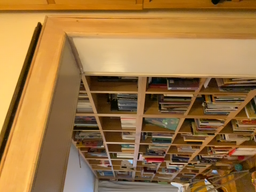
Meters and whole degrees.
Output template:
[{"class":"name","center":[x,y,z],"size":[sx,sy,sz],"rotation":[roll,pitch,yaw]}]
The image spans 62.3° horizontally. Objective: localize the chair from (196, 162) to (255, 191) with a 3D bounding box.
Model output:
[{"class":"chair","center":[1.380,1.450,3.020],"size":[0.720,0.540,0.920],"rotation":[88,-177,-69]}]

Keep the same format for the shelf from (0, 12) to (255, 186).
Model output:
[{"class":"shelf","center":[0.450,0.750,3.200],"size":[4.330,2.490,0.430],"rotation":[89,-178,-59]}]
